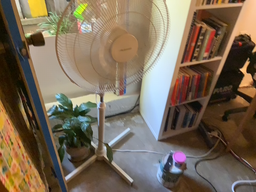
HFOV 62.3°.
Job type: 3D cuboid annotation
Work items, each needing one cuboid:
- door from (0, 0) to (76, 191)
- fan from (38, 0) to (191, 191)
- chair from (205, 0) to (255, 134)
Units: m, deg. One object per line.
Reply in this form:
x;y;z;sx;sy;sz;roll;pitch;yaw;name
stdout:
-0.500;-0.300;0.850;0.070;2.060;0.810;-23;47;-27;door
-0.090;0.000;1.220;0.530;1.240;0.350;-18;45;-23;fan
1.200;-0.210;1.820;0.640;0.960;0.590;2;41;-2;chair
